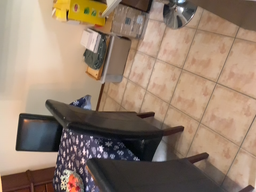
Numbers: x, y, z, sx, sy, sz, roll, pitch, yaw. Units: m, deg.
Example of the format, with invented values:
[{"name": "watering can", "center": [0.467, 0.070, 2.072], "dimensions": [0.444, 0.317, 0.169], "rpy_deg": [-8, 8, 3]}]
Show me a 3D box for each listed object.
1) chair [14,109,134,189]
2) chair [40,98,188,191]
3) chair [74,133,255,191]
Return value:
[{"name": "chair", "center": [-0.550, 0.480, 2.240], "dimensions": [0.530, 1.040, 0.430], "rpy_deg": [45, 123, 41]}, {"name": "chair", "center": [-0.070, 0.320, 1.700], "dimensions": [0.430, 1.060, 0.490], "rpy_deg": [27, 110, 47]}, {"name": "chair", "center": [0.270, 0.600, 1.250], "dimensions": [0.430, 1.090, 0.510], "rpy_deg": [30, 112, 47]}]
